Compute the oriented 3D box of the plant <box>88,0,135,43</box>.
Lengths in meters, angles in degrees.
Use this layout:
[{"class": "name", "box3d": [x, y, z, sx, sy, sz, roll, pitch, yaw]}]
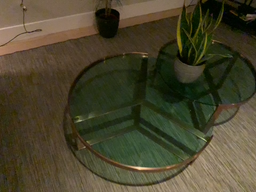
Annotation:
[{"class": "plant", "box3d": [-0.170, -1.010, 2.090, 0.370, 0.870, 0.320, -17, 53, -21]}]
